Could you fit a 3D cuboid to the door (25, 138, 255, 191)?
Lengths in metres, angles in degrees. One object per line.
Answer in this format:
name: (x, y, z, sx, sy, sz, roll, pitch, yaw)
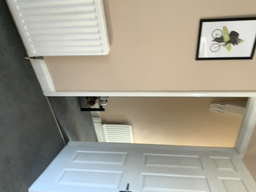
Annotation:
door: (0.160, 0.720, 2.200, 0.910, 2.060, 0.070, -66, 156, -72)
